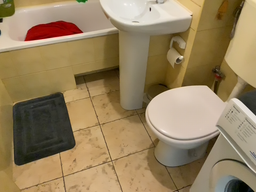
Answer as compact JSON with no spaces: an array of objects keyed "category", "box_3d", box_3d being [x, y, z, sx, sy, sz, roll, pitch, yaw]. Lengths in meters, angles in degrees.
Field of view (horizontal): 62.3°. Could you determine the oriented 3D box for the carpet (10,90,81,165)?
[{"category":"carpet","box_3d":[-0.650,0.200,1.620,0.430,0.040,0.550,-17,48,-18]}]
